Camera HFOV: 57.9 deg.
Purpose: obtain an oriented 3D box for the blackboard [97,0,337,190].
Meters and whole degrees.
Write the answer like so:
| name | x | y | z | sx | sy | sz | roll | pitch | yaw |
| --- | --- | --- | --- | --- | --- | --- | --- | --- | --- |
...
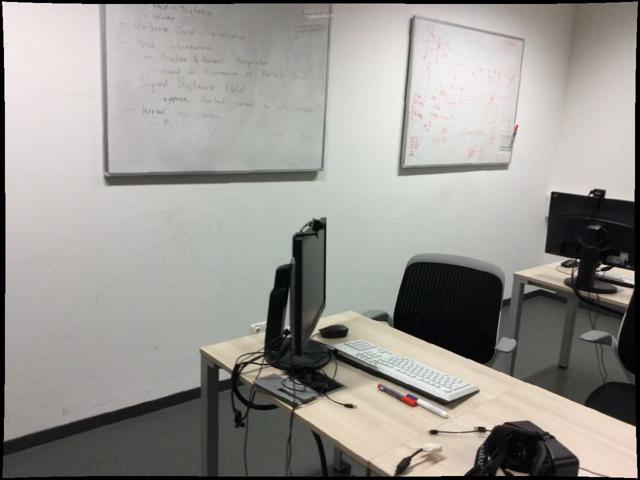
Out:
| name | x | y | z | sx | sy | sz | roll | pitch | yaw |
| --- | --- | --- | --- | --- | --- | --- | --- | --- | --- |
| blackboard | -0.420 | -0.801 | 2.750 | 1.169 | 1.011 | 0.100 | -10 | 18 | -35 |

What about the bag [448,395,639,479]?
| name | x | y | z | sx | sy | sz | roll | pitch | yaw |
| --- | --- | --- | --- | --- | --- | --- | --- | --- | --- |
| bag | 0.480 | 0.490 | 1.240 | 0.350 | 0.130 | 0.220 | -10 | 18 | -35 |
